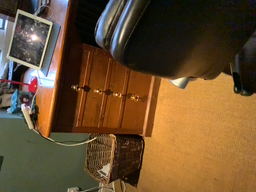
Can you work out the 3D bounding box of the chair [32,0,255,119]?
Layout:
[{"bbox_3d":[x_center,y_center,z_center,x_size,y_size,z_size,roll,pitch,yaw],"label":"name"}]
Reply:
[{"bbox_3d":[0.290,-0.430,0.870,0.720,1.000,0.710,52,121,40],"label":"chair"}]
